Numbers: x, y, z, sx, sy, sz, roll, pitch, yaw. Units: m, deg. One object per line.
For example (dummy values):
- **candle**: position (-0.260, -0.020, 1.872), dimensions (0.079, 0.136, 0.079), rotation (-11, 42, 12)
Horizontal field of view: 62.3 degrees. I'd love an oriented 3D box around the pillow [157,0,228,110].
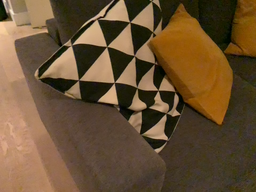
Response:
- **pillow**: position (0.340, -0.190, 1.030), dimensions (0.150, 0.490, 0.490), rotation (-1, 84, 38)
